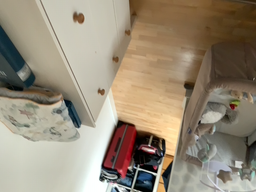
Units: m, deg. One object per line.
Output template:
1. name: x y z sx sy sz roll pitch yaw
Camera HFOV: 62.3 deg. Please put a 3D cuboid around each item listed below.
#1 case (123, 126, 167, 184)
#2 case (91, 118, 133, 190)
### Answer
1. case: 0.280 0.960 3.410 0.520 0.610 0.700 13 149 11
2. case: -0.200 0.930 3.350 0.330 0.840 0.820 13 149 11
